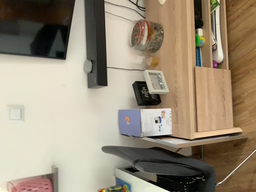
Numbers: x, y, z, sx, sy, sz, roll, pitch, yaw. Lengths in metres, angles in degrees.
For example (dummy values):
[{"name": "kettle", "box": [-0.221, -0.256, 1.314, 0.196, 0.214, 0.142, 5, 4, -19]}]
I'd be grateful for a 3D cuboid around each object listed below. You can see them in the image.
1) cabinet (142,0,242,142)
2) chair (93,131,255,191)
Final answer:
[{"name": "cabinet", "box": [0.410, -0.450, 1.450, 0.400, 0.470, 1.410, -7, 84, 58]}, {"name": "chair", "box": [0.300, 0.570, 1.250, 0.490, 0.860, 0.610, -6, 85, 58]}]
